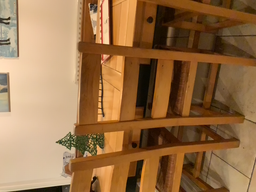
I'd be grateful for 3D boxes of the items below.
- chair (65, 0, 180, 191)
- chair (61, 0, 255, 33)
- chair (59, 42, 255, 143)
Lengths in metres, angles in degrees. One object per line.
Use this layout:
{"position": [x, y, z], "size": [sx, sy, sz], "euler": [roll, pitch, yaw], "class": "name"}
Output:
{"position": [-0.100, -0.480, 2.200], "size": [0.610, 0.900, 2.990], "euler": [-144, 58, -64], "class": "chair"}
{"position": [0.220, -0.620, 1.150], "size": [0.450, 1.070, 0.380], "euler": [-150, 63, -66], "class": "chair"}
{"position": [0.170, -0.040, 1.270], "size": [0.450, 1.070, 0.420], "euler": [-150, 63, -66], "class": "chair"}
